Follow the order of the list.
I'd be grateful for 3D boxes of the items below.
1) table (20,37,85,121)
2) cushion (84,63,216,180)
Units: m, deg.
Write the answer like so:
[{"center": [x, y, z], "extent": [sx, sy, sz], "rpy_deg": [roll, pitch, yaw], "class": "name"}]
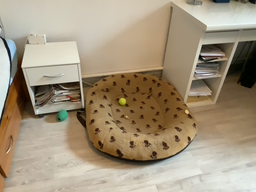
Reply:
[{"center": [-0.600, -0.150, 1.780], "extent": [0.390, 0.520, 0.420], "rpy_deg": [-7, 40, -13], "class": "table"}, {"center": [0.080, 0.110, 1.820], "extent": [0.820, 0.240, 1.040], "rpy_deg": [-5, 39, -11], "class": "cushion"}]
